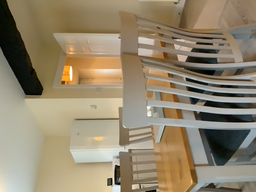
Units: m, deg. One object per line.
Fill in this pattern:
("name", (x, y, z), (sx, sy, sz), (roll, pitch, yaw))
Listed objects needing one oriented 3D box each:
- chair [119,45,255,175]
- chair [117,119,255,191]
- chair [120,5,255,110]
("chair", (0.480, 0.110, 1.260), (0.640, 1.040, 0.450), (95, 174, -49))
("chair", (0.440, 0.580, 1.820), (0.700, 1.050, 0.460), (95, 174, -52))
("chair", (0.470, -0.260, 1.570), (0.590, 1.040, 0.460), (95, 174, -49))
